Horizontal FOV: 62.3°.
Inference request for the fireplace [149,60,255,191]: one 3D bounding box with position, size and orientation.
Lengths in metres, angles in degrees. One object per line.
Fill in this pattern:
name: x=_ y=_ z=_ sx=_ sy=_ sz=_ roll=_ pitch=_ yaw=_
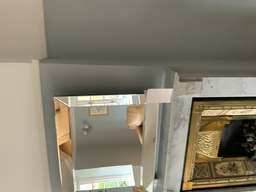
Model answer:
fireplace: x=0.840 y=0.410 z=1.760 sx=0.690 sy=1.120 sz=1.280 roll=-112 pitch=23 yaw=-69
